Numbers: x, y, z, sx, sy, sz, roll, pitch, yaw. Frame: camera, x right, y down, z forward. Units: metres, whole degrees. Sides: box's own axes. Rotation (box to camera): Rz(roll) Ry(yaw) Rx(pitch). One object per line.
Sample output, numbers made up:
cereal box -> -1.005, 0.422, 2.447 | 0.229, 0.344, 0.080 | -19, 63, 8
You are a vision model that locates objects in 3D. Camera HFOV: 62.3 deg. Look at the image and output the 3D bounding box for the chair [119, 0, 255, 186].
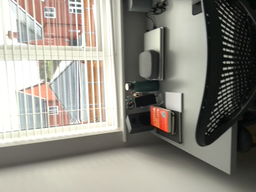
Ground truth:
chair -> 0.560, -0.180, 1.040 | 0.760, 1.010, 0.660 | -156, 65, -65
